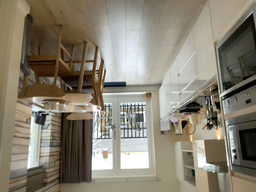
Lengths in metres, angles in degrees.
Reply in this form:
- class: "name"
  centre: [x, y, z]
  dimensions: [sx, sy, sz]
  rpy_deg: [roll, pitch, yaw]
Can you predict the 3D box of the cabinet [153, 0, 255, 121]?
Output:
- class: "cabinet"
  centre: [0.960, -0.200, 3.470]
  dimensions: [0.590, 0.890, 3.220]
  rpy_deg: [-1, 167, -2]
